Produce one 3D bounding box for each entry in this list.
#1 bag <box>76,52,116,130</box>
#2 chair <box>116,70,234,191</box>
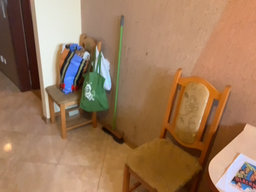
[{"bbox_3d":[-0.330,-0.050,2.130,0.280,0.700,0.260,-13,32,-32],"label":"bag"},{"bbox_3d":[0.280,0.370,1.490,0.560,0.950,0.400,-17,34,-37],"label":"chair"}]
